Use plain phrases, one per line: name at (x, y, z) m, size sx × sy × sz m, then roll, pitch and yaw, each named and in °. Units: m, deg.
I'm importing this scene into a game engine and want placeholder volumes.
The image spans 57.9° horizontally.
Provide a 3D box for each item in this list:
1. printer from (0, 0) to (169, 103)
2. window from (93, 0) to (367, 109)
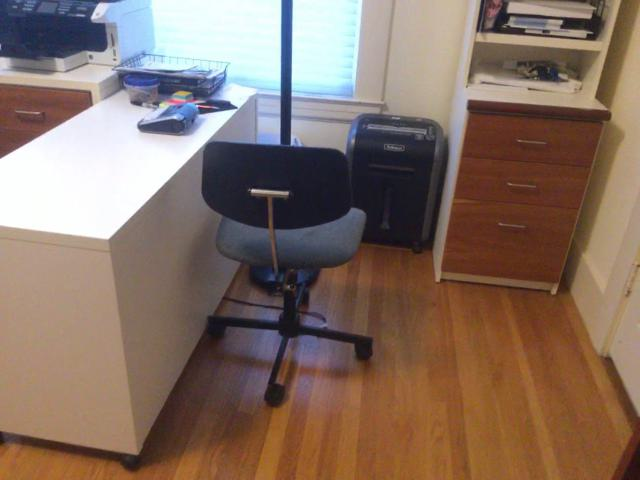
printer at (-0.880, -0.770, 2.040) m, size 0.520 × 0.370 × 0.570 m, roll 6°, pitch 29°, yaw 1°
window at (-0.300, -1.360, 1.990) m, size 1.040 × 1.710 × 0.100 m, roll 6°, pitch 29°, yaw 1°
